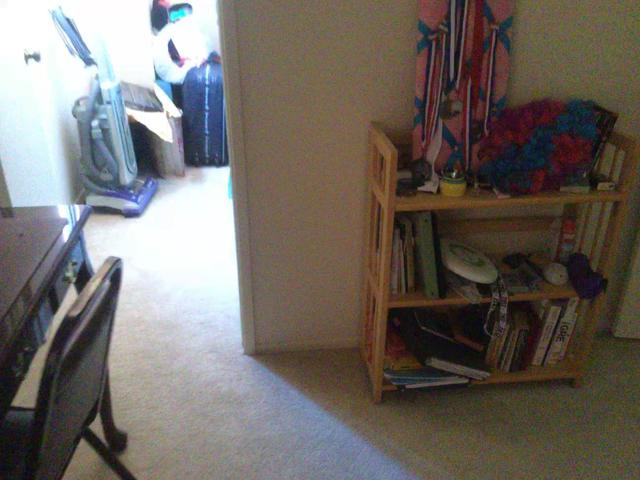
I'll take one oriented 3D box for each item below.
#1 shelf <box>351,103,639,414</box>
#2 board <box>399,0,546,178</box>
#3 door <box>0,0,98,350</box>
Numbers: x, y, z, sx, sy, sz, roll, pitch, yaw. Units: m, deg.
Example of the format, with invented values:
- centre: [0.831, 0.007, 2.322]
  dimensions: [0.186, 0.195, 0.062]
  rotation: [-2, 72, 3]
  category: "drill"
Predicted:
- centre: [0.520, 0.050, 1.800]
  dimensions: [0.780, 0.820, 0.350]
  rotation: [-6, 27, -8]
  category: "shelf"
- centre: [0.410, -0.480, 1.610]
  dimensions: [0.330, 0.560, 0.160]
  rotation: [-6, 27, -8]
  category: "board"
- centre: [-1.060, -0.370, 2.100]
  dimensions: [0.100, 1.250, 0.850]
  rotation: [-6, 27, -8]
  category: "door"
